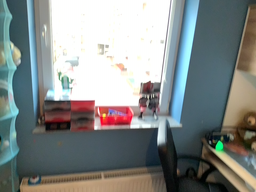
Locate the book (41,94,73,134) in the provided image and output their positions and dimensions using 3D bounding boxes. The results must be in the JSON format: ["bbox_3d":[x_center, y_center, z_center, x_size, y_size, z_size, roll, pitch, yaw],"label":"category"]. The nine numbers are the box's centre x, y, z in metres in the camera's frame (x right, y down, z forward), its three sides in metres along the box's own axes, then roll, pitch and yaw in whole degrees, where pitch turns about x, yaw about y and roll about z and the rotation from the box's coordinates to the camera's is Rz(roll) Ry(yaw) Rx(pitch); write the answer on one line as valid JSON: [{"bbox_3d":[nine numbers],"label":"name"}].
[{"bbox_3d":[-0.540,0.130,1.630,0.210,0.240,0.210,-1,19,-17],"label":"book"}]

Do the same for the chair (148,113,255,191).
[{"bbox_3d":[0.490,0.760,1.530,0.660,1.030,0.620,9,18,12],"label":"chair"}]

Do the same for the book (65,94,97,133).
[{"bbox_3d":[-0.380,0.130,1.690,0.220,0.240,0.200,-1,19,-18],"label":"book"}]

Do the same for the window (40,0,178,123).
[{"bbox_3d":[-0.140,-0.420,1.740,1.040,1.290,0.130,-1,19,-17],"label":"window"}]
